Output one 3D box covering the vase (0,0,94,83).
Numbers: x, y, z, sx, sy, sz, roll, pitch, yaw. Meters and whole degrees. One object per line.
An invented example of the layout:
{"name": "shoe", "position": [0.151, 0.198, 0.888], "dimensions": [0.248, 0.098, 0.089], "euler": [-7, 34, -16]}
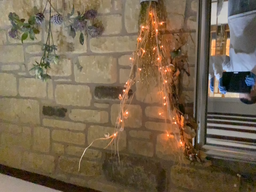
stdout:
{"name": "vase", "position": [-0.540, -0.430, 1.260], "dimensions": [0.630, 0.680, 0.230], "euler": [3, -173, 23]}
